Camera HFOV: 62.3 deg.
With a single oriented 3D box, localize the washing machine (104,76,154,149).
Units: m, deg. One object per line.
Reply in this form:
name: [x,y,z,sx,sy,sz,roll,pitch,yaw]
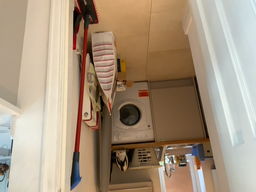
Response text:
washing machine: [0.010,0.270,3.060,0.580,0.840,0.690,-5,160,0]
